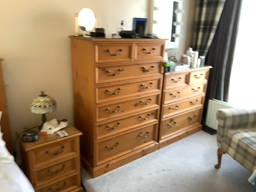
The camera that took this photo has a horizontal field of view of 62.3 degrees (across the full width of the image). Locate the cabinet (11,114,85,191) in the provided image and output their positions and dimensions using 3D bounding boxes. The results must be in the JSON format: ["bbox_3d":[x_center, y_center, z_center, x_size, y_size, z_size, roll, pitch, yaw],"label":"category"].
[{"bbox_3d":[-0.720,0.580,1.930,0.450,0.630,0.470,-13,23,-38],"label":"cabinet"}]

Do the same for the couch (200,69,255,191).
[{"bbox_3d":[1.330,0.310,1.970,0.840,0.980,0.800,-3,18,-16],"label":"couch"}]
